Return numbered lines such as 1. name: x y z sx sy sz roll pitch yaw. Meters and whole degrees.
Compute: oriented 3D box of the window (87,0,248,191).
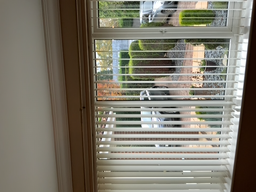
1. window: 0.370 0.040 2.260 0.170 1.480 2.530 -93 2 -76
